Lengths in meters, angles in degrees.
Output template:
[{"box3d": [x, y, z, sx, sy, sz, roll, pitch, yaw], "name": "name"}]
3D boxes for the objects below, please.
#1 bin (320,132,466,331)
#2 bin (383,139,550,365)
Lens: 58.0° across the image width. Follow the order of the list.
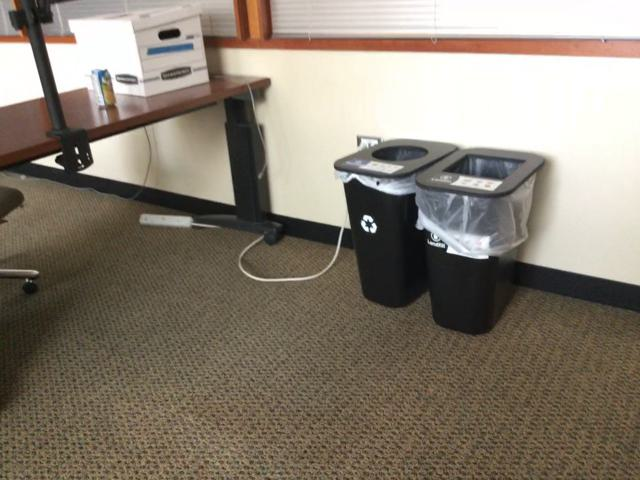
[{"box3d": [0.250, -0.050, 2.010, 0.310, 0.540, 0.400, 16, 27, 29], "name": "bin"}, {"box3d": [0.470, 0.010, 1.860, 0.320, 0.550, 0.440, 16, 27, 29], "name": "bin"}]
